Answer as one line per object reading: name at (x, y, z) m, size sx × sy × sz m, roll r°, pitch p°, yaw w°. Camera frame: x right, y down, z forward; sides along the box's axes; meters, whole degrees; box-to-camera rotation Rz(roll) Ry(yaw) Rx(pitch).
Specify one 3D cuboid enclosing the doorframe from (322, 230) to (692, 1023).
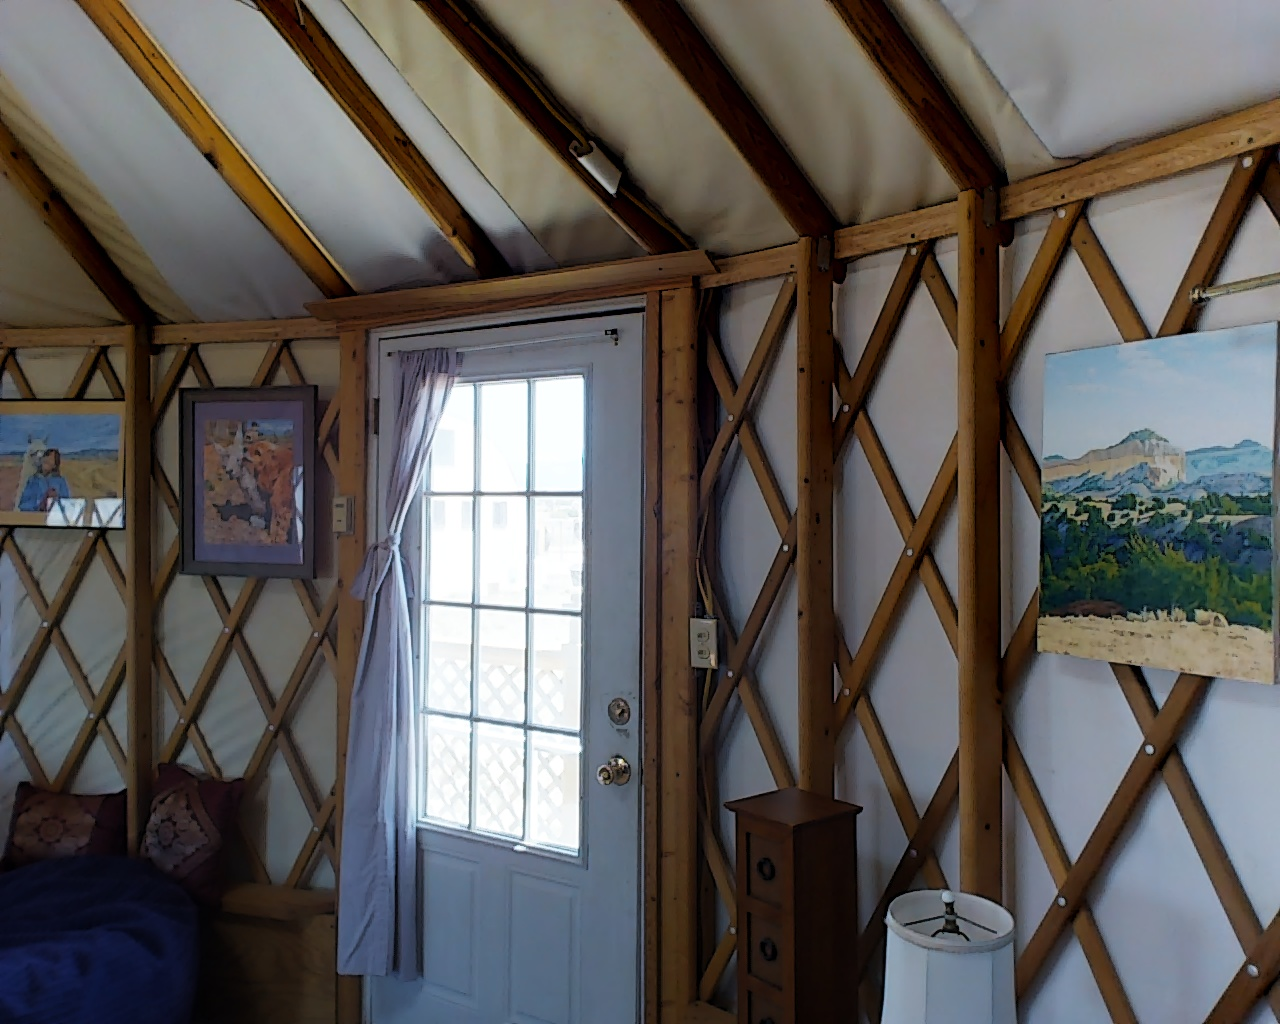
doorframe at (-0.390, 0.450, 2.800) m, size 1.130 × 2.180 × 0.120 m, roll 0°, pitch 0°, yaw 34°

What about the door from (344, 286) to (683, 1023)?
door at (-0.370, 0.500, 2.900) m, size 1.000 × 2.070 × 0.190 m, roll 0°, pitch 0°, yaw 34°

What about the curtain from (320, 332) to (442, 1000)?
curtain at (-0.710, 0.400, 2.960) m, size 0.260 × 1.740 × 0.180 m, roll 0°, pitch 0°, yaw 34°
